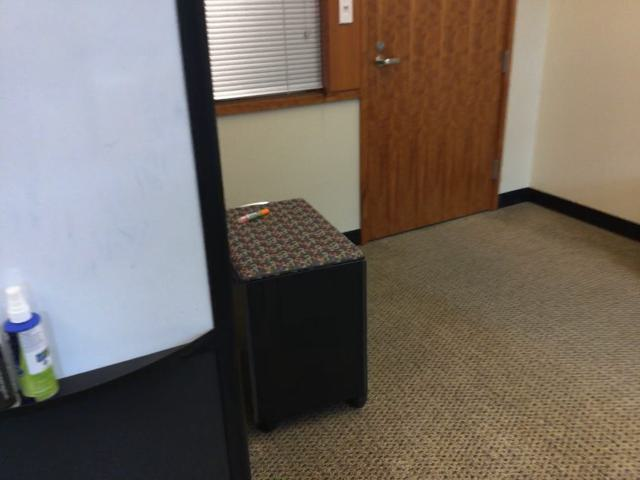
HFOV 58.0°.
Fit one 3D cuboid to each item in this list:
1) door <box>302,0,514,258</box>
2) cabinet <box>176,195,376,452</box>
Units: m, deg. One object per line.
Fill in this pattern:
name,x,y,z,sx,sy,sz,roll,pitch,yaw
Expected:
door,0.450,-1.360,2.640,1.120,2.870,0.110,-9,22,-25
cabinet,-0.180,0.230,2.000,0.480,0.590,0.640,-8,21,-21
